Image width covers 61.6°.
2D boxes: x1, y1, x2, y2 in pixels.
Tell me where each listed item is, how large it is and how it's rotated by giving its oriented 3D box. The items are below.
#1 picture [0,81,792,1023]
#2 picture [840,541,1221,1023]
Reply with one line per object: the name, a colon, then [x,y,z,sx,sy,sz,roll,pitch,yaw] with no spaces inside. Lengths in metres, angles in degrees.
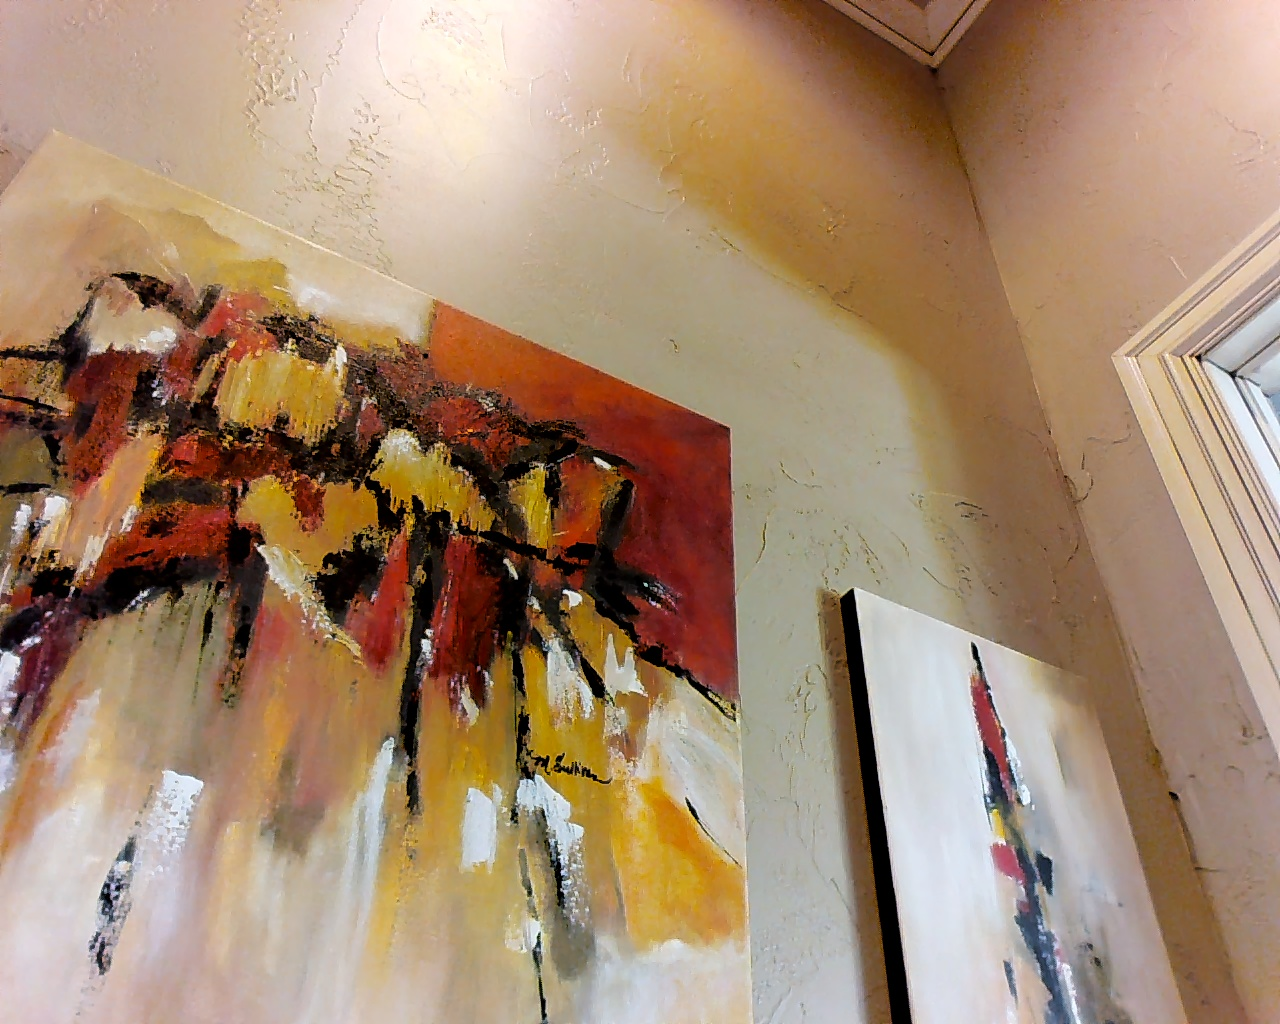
picture: [-0.190,0.040,0.730,0.650,0.670,0.040,22,-46,-20]
picture: [0.330,0.350,0.850,0.330,0.700,0.020,22,-46,-20]
